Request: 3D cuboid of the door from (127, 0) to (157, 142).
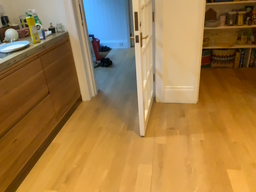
[{"bbox_3d":[0.150,-0.630,1.900,0.100,2.020,0.760,4,29,15],"label":"door"}]
